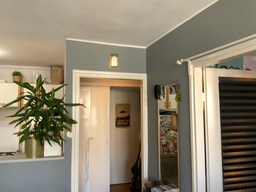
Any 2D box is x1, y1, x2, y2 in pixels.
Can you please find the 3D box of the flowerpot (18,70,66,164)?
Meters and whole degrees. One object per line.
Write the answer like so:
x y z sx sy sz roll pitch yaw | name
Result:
-0.950 0.220 2.400 0.440 0.940 0.420 2 -4 -19 | flowerpot
